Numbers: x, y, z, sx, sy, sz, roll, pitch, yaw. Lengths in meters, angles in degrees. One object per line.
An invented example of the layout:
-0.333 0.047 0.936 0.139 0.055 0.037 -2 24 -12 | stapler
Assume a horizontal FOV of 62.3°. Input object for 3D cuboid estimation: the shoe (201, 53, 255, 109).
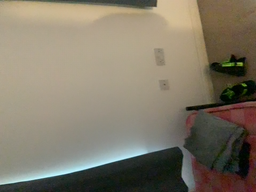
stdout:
0.780 -0.100 1.660 0.370 0.130 0.370 164 101 -66 | shoe
